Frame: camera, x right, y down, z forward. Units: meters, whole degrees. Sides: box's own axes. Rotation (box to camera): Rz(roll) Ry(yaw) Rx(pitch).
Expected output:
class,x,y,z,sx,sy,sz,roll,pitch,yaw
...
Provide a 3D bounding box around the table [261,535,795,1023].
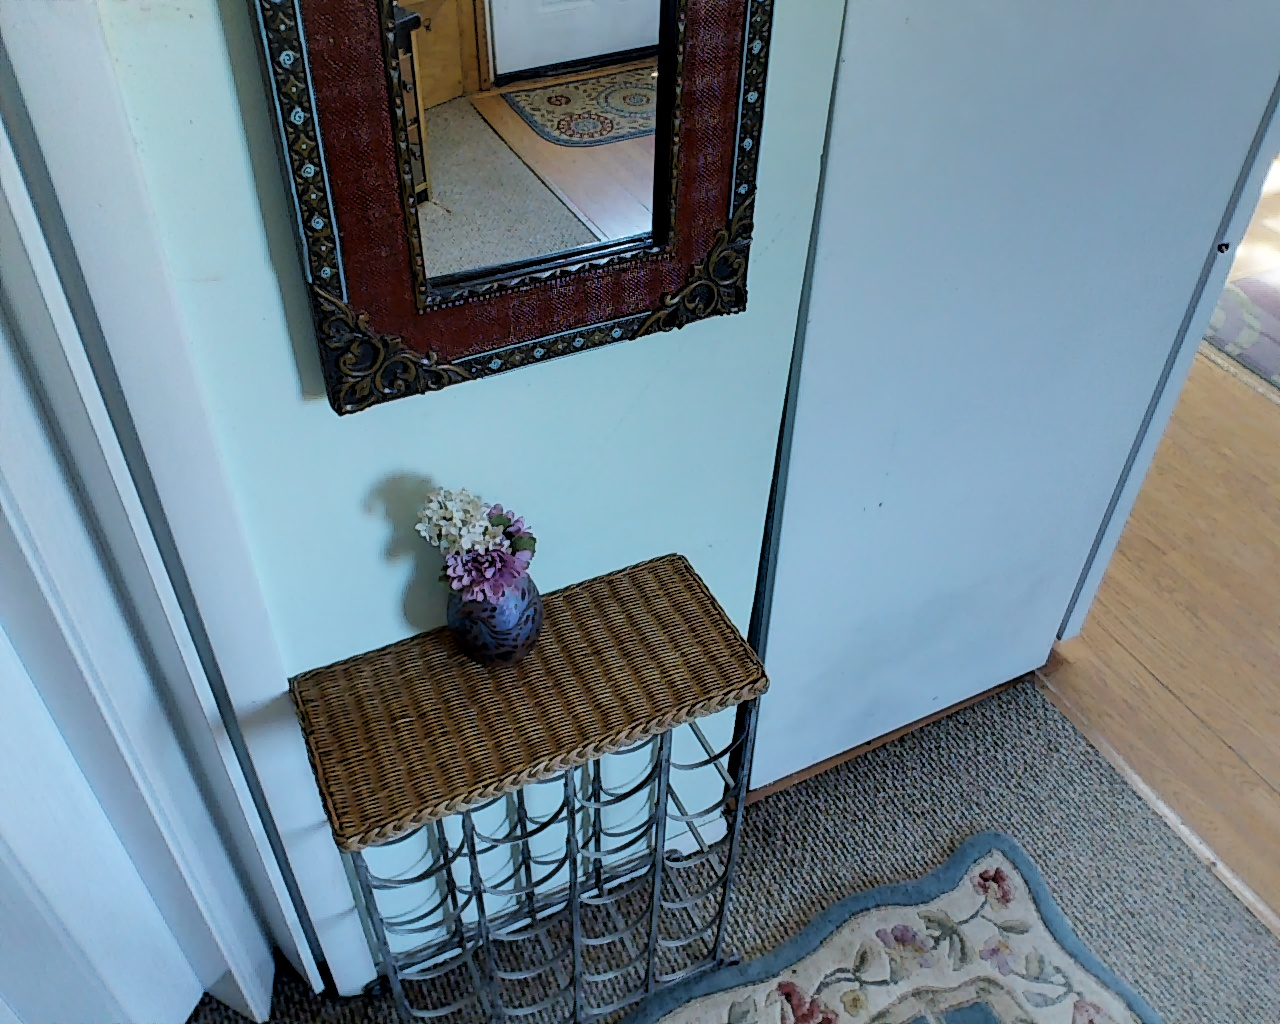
class,x,y,z,sx,sy,sz,roll,pitch,yaw
table,-0.120,0.420,1.360,0.510,0.670,0.230,-18,46,-20
